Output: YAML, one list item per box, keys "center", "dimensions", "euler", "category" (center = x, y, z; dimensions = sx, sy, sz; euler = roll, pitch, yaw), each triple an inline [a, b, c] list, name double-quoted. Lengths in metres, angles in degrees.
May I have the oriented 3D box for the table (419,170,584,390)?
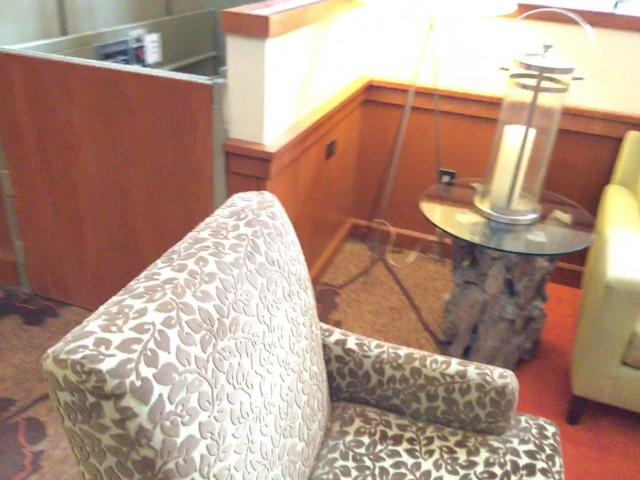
- center: [0.710, 0.130, 2.270]
  dimensions: [0.460, 0.600, 0.510]
  euler: [13, 30, 18]
  category: "table"
